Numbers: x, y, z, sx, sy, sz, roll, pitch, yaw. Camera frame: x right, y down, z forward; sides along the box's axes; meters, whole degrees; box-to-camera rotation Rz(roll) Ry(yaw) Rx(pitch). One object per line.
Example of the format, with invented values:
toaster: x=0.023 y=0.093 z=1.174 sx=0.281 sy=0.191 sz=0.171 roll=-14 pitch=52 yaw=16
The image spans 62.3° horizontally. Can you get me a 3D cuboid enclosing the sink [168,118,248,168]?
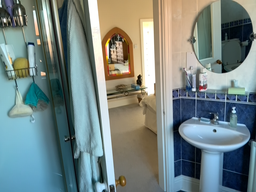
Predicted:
sink: x=0.680 y=0.370 z=1.810 sx=0.570 sy=0.170 sz=0.370 roll=6 pitch=18 yaw=31
